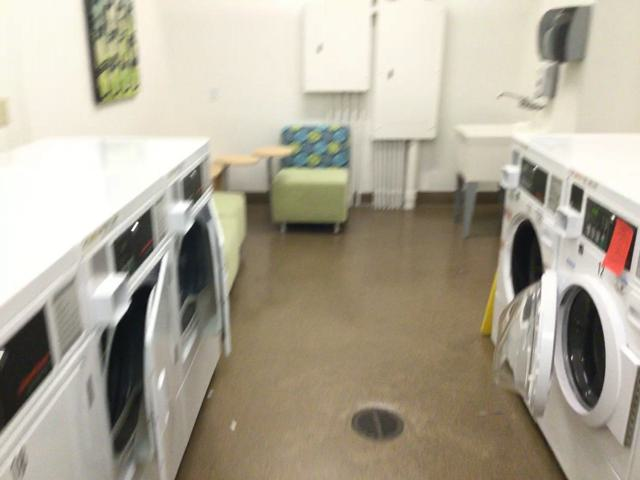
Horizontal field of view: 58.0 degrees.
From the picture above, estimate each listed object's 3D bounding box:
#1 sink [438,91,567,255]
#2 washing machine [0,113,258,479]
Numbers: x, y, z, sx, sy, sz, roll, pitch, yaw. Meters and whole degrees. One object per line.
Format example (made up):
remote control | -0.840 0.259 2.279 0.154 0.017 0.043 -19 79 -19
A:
sink | 1.290 -0.520 4.280 0.700 1.070 0.670 2 20 6
washing machine | -0.790 0.580 1.040 0.920 1.180 3.270 0 20 1
